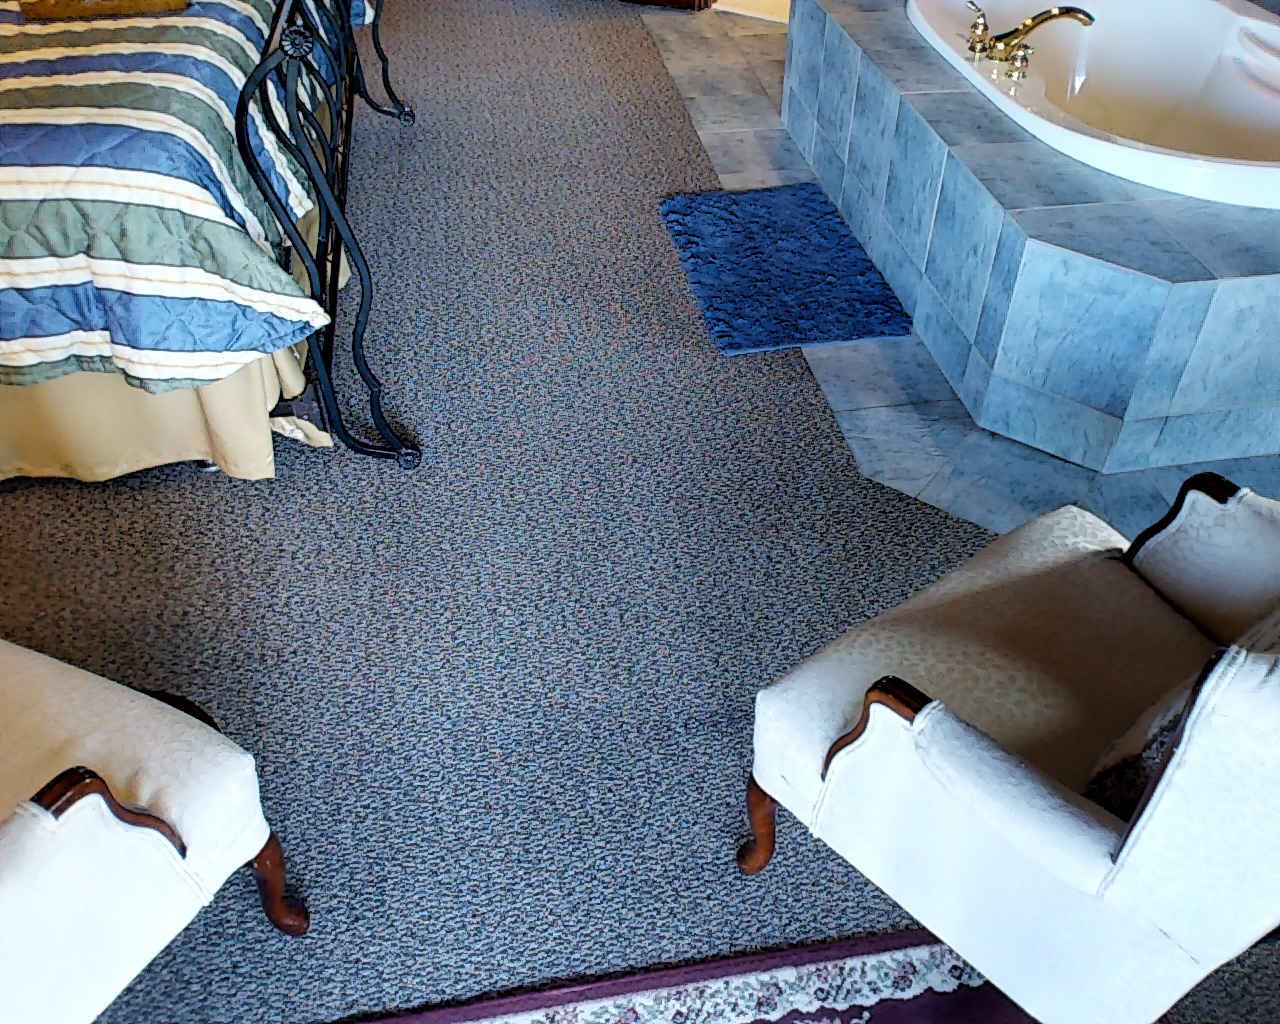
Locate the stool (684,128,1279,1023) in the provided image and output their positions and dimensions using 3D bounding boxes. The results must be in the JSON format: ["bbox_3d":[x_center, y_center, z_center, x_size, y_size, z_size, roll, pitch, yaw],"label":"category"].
[{"bbox_3d":[0.600,0.220,1.340,0.750,0.980,0.760,-27,49,-27],"label":"stool"}]
